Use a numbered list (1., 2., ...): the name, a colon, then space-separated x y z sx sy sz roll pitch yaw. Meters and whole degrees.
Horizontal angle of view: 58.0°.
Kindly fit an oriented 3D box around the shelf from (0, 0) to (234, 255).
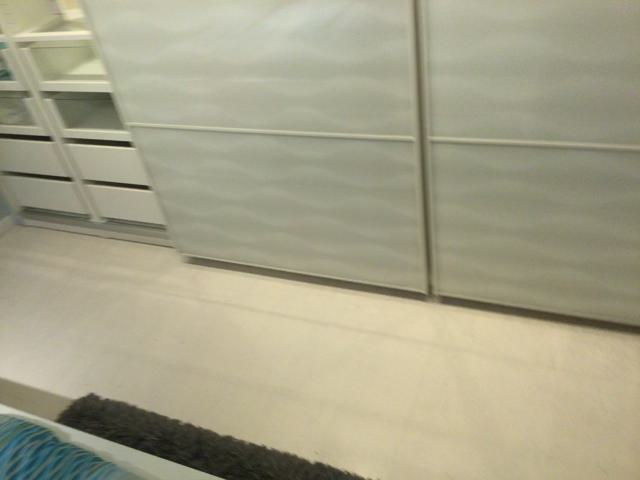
1. shelf: -1.080 -0.990 1.990 0.960 2.240 0.480 11 47 21
